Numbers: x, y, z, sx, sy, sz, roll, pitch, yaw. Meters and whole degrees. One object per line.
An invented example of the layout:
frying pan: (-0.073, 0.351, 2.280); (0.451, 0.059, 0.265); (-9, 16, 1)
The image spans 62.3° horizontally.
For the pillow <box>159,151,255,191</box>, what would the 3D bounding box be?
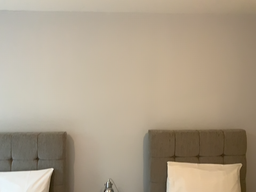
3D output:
pillow: (0.690, 0.810, 1.880); (0.760, 0.460, 0.180); (12, -1, -5)
